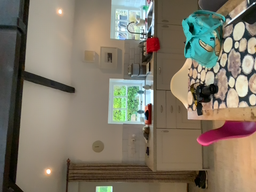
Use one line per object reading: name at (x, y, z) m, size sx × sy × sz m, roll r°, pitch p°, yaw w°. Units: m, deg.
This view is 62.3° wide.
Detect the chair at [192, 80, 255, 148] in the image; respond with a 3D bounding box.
chair at (1.030, 0.160, 1.870) m, size 0.450 × 0.780 × 0.510 m, roll 148°, pitch 123°, yaw -81°

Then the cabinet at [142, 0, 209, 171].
cabinet at (0.750, -0.390, 3.680) m, size 0.640 × 0.900 × 3.120 m, roll 133°, pitch 138°, yaw -79°
